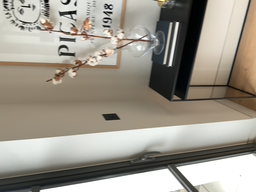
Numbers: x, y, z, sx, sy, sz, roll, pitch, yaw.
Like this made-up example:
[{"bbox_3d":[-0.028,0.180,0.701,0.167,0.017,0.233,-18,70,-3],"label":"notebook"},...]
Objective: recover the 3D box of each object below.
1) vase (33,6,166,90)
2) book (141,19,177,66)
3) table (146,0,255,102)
[{"bbox_3d":[-0.160,-0.250,1.200,0.200,0.680,0.380,-140,52,-61],"label":"vase"},{"bbox_3d":[0.180,-0.340,1.320,0.270,0.060,0.250,-138,51,-60],"label":"book"},{"bbox_3d":[0.580,-0.440,1.410,0.310,0.750,0.890,-139,52,-60],"label":"table"}]
